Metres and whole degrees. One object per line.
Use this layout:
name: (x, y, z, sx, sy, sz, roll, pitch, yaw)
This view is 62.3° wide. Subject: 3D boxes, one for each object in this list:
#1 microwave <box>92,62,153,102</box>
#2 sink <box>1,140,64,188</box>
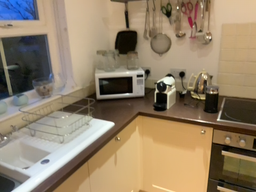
microwave: (-0.040, -0.160, 2.110, 0.440, 0.270, 0.420, 8, 21, 26)
sink: (-0.520, 0.360, 1.160, 0.310, 0.130, 0.130, 8, 21, 26)
